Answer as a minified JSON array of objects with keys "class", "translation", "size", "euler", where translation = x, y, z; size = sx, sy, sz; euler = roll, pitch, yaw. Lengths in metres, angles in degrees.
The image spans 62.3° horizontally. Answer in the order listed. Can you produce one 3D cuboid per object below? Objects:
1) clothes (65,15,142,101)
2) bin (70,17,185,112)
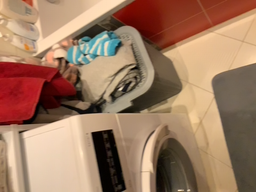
[{"class":"clothes","translation":[-0.110,-0.140,0.880],"size":[0.270,0.110,0.260],"euler":[-17,78,29]},{"class":"bin","translation":[0.020,-0.110,1.130],"size":[0.370,0.470,0.310],"euler":[-18,78,29]}]
